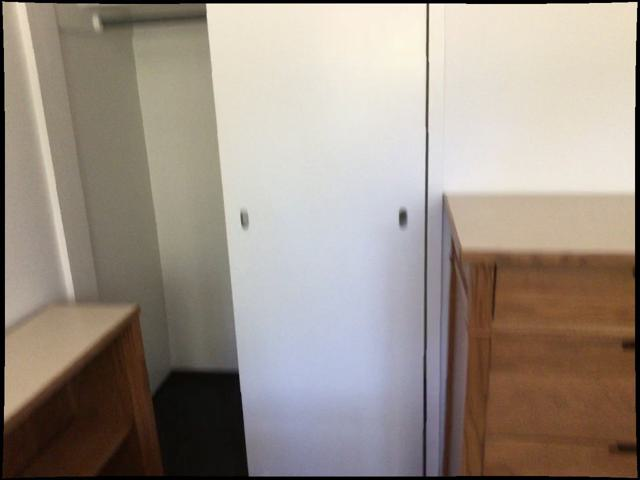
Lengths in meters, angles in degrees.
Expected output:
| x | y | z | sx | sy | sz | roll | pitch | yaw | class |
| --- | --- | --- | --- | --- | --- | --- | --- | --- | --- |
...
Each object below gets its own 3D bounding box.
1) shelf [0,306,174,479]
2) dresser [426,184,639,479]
| x | y | z | sx | sy | sz | roll | pitch | yaw | class |
| --- | --- | --- | --- | --- | --- | --- | --- | --- | --- |
| -0.758 | 0.692 | 1.550 | 0.379 | 0.762 | 0.790 | 0 | 18 | 9 | shelf |
| 0.718 | 0.451 | 1.540 | 0.818 | 1.083 | 0.590 | -1 | 18 | 7 | dresser |
